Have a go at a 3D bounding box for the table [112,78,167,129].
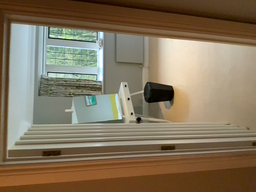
[{"bbox_3d":[0.170,0.120,3.850,0.920,0.770,0.330,-104,21,-43],"label":"table"}]
